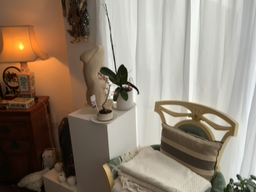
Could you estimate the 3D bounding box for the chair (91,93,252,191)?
[{"bbox_3d":[0.240,0.580,1.320,0.600,0.990,0.640,-17,24,-40],"label":"chair"}]
